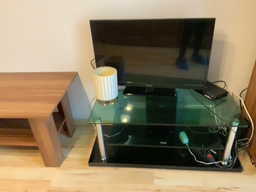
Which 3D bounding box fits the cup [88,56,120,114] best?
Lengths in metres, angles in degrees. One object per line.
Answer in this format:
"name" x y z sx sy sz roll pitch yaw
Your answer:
"cup" -0.150 -0.080 1.460 0.150 0.300 0.280 1 32 5
